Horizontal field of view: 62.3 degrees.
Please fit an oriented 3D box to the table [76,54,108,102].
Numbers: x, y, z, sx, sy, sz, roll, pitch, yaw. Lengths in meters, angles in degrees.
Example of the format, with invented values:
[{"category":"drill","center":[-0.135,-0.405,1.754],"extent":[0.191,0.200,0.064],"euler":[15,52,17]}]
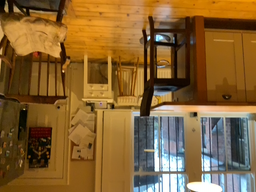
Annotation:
[{"category":"table","center":[-0.590,-0.280,3.610],"extent":[0.480,0.730,0.430],"euler":[2,173,-6]}]
